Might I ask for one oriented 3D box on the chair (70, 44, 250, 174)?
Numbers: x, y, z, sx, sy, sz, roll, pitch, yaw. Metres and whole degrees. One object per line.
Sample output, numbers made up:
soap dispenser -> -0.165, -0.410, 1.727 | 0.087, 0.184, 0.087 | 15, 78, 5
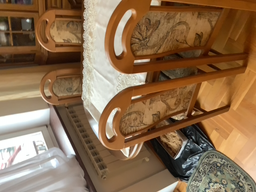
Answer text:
chair -> 0.200, -0.020, 1.420 | 0.560, 0.990, 0.470 | 41, 131, 43

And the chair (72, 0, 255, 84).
chair -> 0.270, -0.460, 1.190 | 0.560, 0.980, 0.470 | 41, 131, 43

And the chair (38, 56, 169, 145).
chair -> -0.230, -0.030, 2.020 | 0.550, 1.040, 0.450 | 45, 134, 41
